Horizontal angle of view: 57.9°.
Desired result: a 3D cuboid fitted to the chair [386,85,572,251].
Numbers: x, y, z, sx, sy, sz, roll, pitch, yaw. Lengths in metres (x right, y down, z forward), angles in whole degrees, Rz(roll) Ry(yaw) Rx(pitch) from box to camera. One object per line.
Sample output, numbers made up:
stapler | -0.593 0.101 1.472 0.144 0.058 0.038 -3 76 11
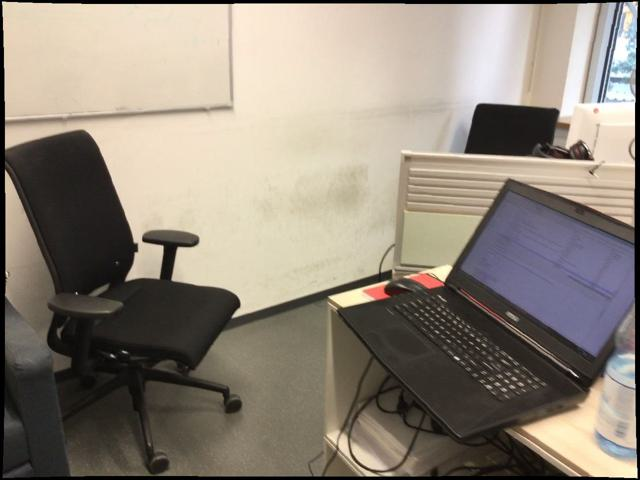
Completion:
chair | 0.859 -0.440 3.130 0.670 0.651 0.770 16 26 33

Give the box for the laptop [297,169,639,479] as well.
laptop | 0.310 0.100 1.120 0.530 0.300 0.550 -10 24 -25

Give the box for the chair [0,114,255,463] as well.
chair | -0.599 0.130 1.990 0.619 1.001 0.620 2 22 4

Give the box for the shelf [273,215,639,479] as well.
shelf | 0.400 0.551 1.280 0.550 0.901 0.950 -16 27 -35
